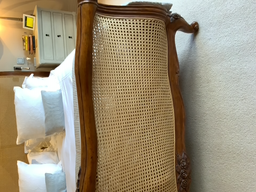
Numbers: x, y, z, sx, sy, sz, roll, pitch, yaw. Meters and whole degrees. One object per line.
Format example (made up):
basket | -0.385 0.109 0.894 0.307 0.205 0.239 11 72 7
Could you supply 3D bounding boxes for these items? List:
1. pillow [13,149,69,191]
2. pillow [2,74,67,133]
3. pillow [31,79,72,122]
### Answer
pillow | -1.030 1.020 2.430 0.240 0.410 0.670 -6 61 62
pillow | -1.060 0.090 2.440 0.240 0.470 0.480 -7 51 62
pillow | -0.810 0.050 2.250 0.140 0.230 0.390 -10 52 60
